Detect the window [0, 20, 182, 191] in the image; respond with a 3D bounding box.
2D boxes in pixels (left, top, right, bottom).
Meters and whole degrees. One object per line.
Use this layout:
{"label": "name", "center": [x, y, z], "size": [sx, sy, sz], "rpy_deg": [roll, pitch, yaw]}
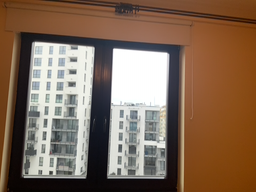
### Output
{"label": "window", "center": [-0.260, 0.170, 1.870], "size": [1.430, 1.500, 0.180], "rpy_deg": [4, -6, -8]}
